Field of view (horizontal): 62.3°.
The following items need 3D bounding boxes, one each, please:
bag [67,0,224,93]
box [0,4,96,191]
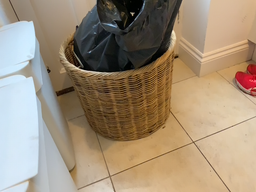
[{"bbox_3d":[0.000,-0.370,0.740,0.410,0.400,0.490,-18,44,-9],"label":"bag"},{"bbox_3d":[-0.380,0.160,0.690,0.380,0.580,0.760,-19,44,-11],"label":"box"}]
